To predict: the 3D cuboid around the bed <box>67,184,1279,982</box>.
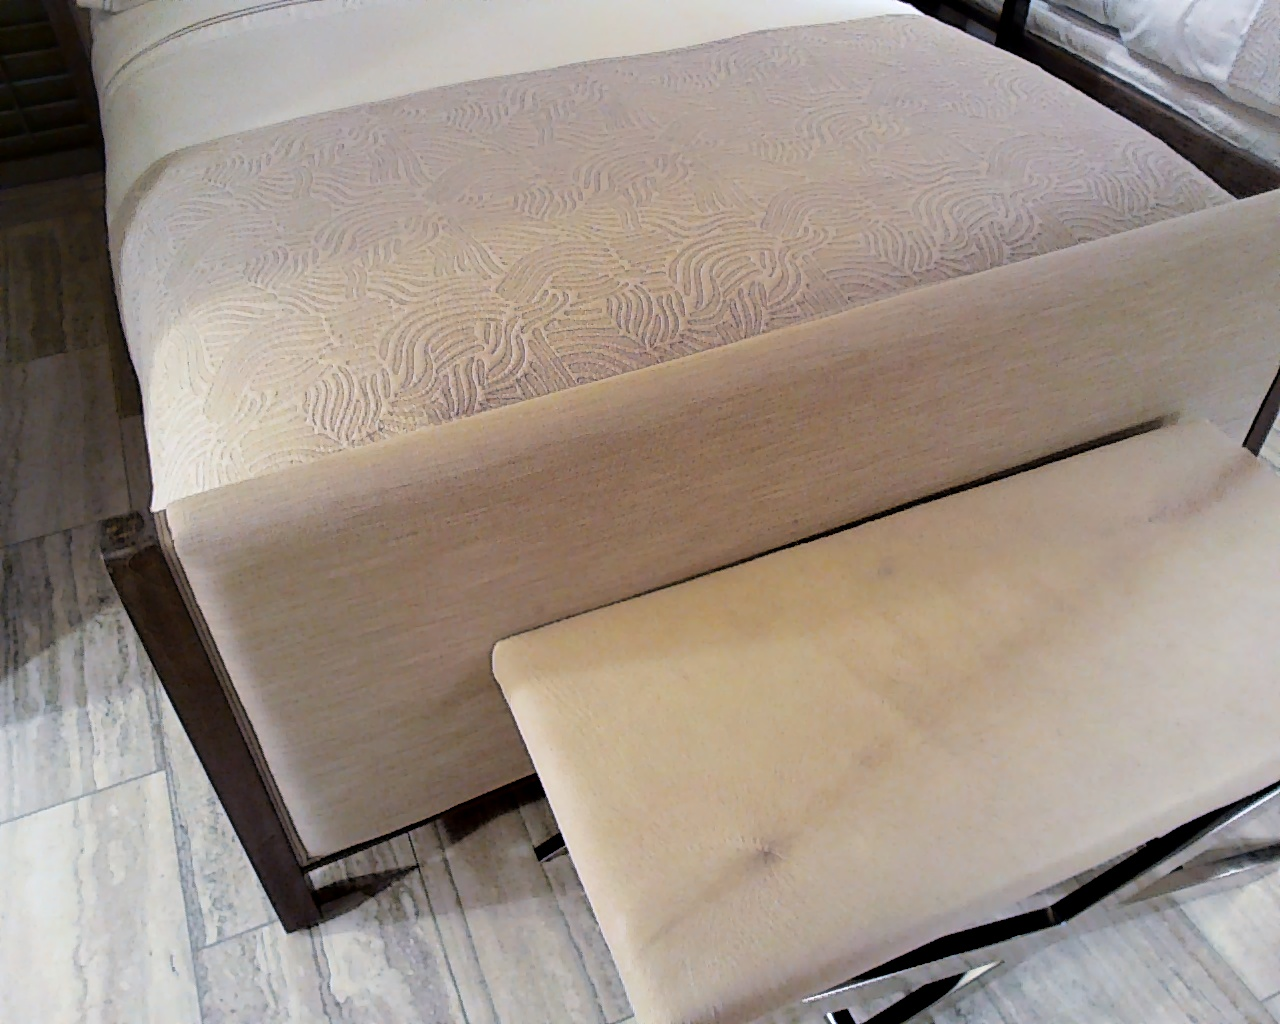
[{"bbox_3d":[0.280,0.060,1.450,1.710,0.730,0.140,-17,46,-17],"label":"bed"}]
